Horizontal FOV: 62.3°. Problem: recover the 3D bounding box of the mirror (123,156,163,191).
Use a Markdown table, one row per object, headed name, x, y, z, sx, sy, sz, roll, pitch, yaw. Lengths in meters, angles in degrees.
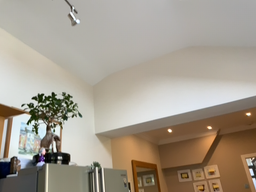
| name | x | y | z | sx | sy | sz | roll | pitch | yaw |
| --- | --- | --- | --- | --- | --- | --- | --- | --- | --- |
| mirror | 0.390 | 1.940 | 4.440 | 0.170 | 1.180 | 1.540 | -17 | -26 | 22 |
